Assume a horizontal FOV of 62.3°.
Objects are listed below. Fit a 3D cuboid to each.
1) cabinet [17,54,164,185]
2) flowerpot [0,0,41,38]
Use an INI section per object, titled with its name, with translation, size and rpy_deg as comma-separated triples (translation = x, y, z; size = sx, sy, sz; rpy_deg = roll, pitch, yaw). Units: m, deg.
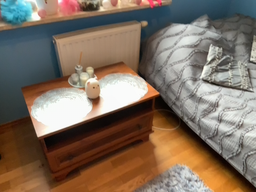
[cabinet]
translation = -0.290, 0.110, 1.680
size = 0.870, 0.490, 0.640
rpy_deg = -18, 42, -25
[flowerpot]
translation = -0.780, -0.620, 1.450
size = 0.210, 0.320, 0.310
rpy_deg = -20, 43, -27
